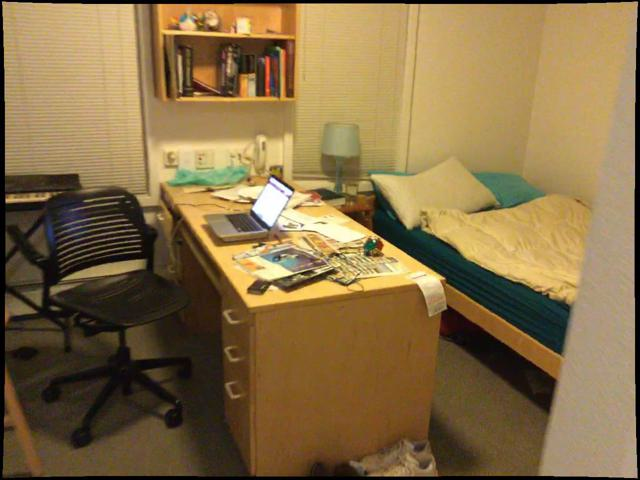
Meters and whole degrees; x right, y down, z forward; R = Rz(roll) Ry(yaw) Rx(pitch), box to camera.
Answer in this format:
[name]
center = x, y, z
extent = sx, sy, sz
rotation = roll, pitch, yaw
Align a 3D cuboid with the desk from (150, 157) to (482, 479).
[desk]
center = -0.210, 0.210, 2.790
extent = 0.879, 0.811, 1.820
rotation = -6, 22, -23
